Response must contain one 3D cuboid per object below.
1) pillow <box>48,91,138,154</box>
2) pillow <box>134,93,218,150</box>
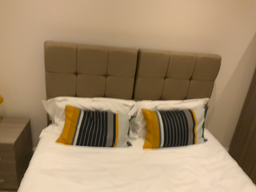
[{"bbox_3d":[-0.270,0.250,1.770,0.650,0.340,0.130,31,39,-27],"label":"pillow"},{"bbox_3d":[0.430,0.260,1.890,0.670,0.350,0.140,26,40,-28],"label":"pillow"}]
